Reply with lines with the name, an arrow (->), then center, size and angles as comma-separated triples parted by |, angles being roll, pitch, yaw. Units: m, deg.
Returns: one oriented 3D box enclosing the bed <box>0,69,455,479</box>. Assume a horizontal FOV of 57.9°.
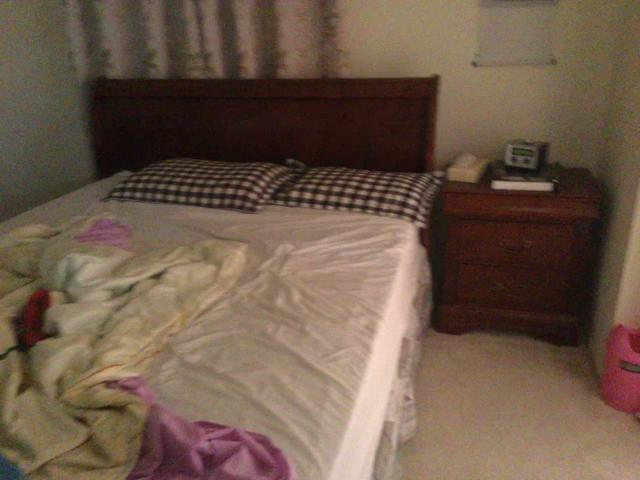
bed -> -0.520, 0.170, 1.730 | 1.670, 1.100, 2.400 | 4, 22, 13
